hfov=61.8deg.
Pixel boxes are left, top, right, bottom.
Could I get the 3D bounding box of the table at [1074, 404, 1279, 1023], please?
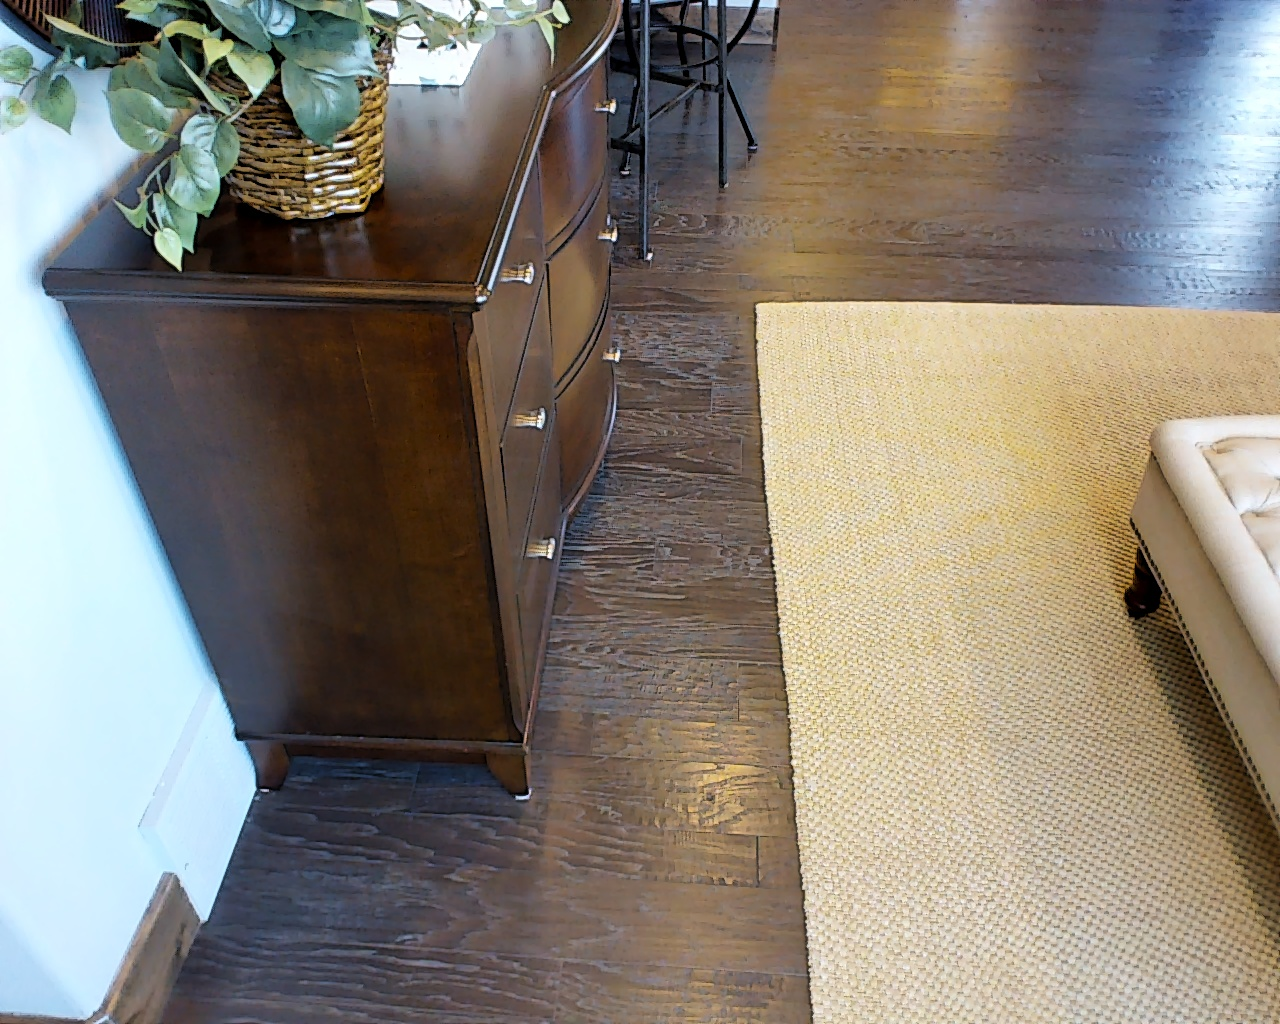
[{"bbox_3d":[1.060,0.330,1.450,0.520,0.400,1.050,1,42,0],"label":"table"}]
